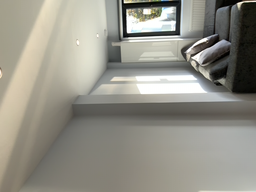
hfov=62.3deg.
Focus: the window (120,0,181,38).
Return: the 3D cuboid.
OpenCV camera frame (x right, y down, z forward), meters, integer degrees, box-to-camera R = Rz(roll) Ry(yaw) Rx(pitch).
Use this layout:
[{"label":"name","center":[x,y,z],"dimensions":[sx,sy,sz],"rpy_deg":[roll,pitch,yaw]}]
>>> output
[{"label":"window","center":[0.500,-1.980,4.810],"dimensions":[0.120,1.330,1.260],"rpy_deg":[-81,-10,-67]}]
